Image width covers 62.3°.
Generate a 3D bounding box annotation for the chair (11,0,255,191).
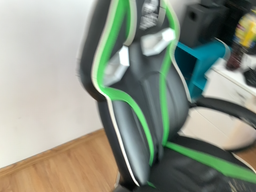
[{"bbox_3d":[0.250,0.250,0.880,0.830,1.220,0.730,28,44,24],"label":"chair"}]
